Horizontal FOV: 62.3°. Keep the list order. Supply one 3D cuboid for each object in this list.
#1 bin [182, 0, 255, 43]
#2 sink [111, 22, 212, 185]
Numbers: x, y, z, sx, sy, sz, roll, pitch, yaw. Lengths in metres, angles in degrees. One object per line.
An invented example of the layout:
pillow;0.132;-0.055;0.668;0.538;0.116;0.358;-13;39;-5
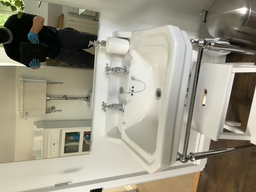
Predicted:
bin;0.640;-0.460;1.240;0.420;0.430;0.240;24;111;61
sink;0.110;0.000;1.040;0.490;0.170;0.620;23;110;61
